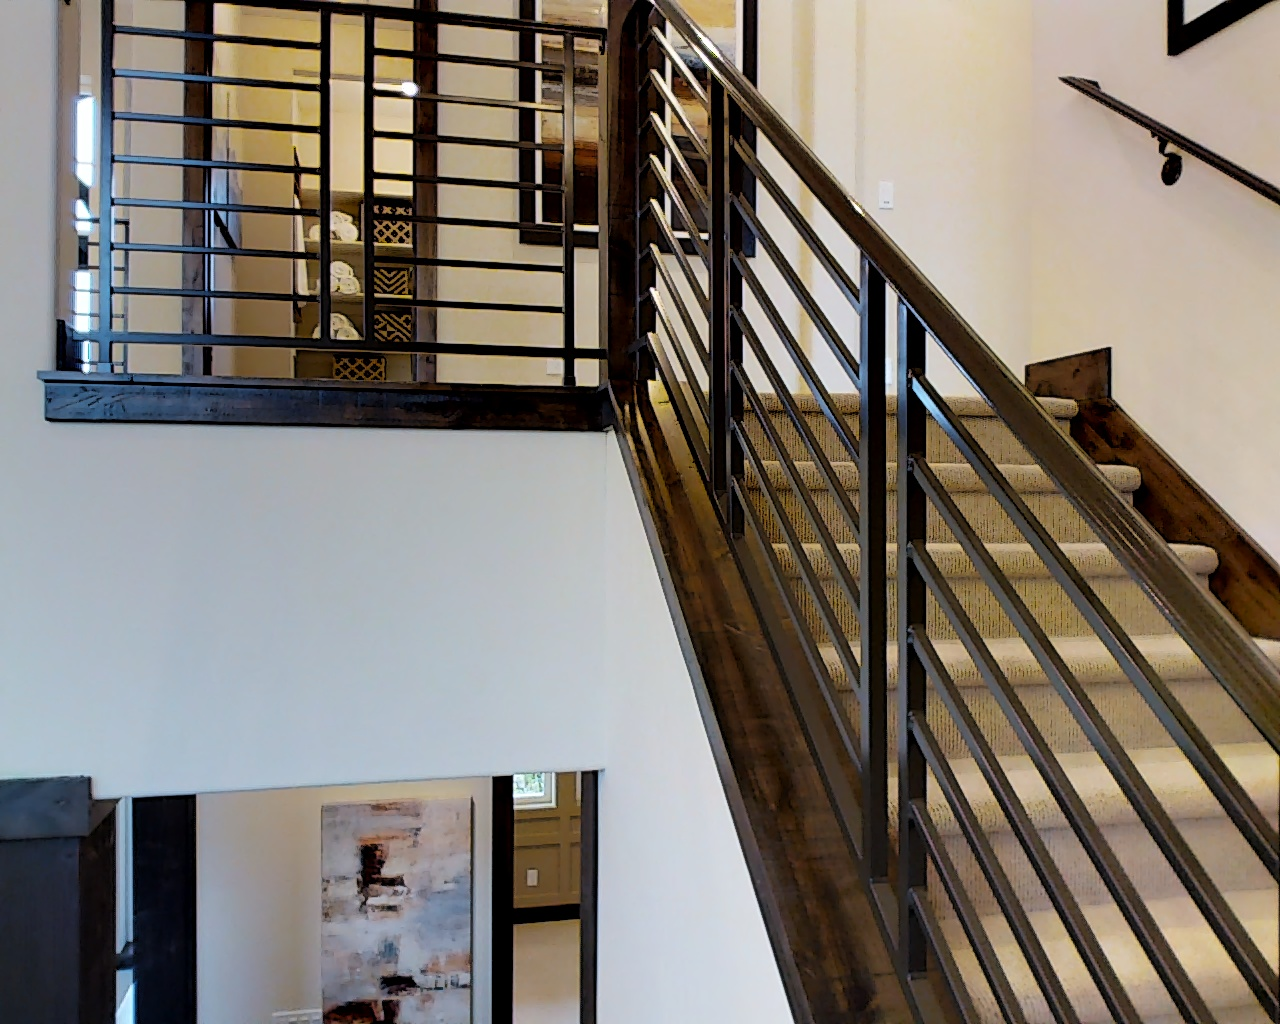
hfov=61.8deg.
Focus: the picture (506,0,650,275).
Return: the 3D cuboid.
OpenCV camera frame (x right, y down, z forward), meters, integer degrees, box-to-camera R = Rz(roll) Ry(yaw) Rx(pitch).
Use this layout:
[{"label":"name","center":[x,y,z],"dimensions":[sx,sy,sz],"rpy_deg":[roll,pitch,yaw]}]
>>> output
[{"label":"picture","center":[-0.260,-1.720,4.570],"dimensions":[0.620,1.380,0.030],"rpy_deg":[0,0,-14]}]
